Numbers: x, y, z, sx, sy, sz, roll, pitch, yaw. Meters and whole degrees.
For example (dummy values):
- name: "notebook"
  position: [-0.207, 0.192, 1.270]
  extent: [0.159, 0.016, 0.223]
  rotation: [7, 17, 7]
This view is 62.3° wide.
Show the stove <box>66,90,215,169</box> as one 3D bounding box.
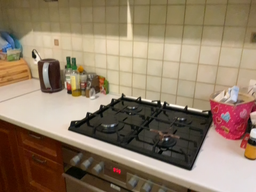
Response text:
- name: "stove"
  position: [0.100, 0.110, 1.100]
  extent: [0.590, 0.030, 0.550]
  rotation: [12, 23, 26]
